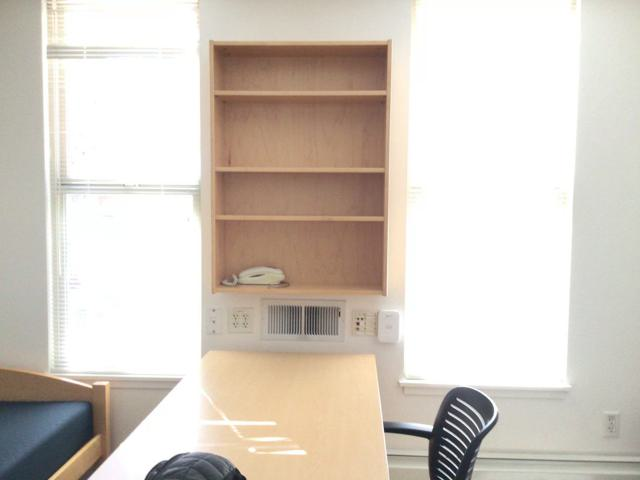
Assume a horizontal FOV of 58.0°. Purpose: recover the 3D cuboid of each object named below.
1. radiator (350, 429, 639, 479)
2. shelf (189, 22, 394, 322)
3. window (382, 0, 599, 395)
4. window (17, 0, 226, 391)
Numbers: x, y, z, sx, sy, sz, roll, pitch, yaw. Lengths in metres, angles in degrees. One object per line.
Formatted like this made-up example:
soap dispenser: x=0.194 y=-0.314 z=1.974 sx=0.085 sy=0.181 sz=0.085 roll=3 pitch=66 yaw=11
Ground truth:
radiator: x=0.840 y=1.060 z=2.520 sx=1.410 sy=0.350 sz=0.180 roll=1 pitch=2 yaw=5
shelf: x=-0.110 y=-0.280 z=2.540 sx=0.830 sy=1.200 sz=0.360 roll=1 pitch=2 yaw=5
window: x=0.740 y=-0.220 z=2.640 sx=0.880 sy=1.750 sz=0.290 roll=1 pitch=2 yaw=5
window: x=-0.920 y=-0.230 z=2.710 sx=0.900 sy=1.790 sz=0.240 roll=1 pitch=2 yaw=5
